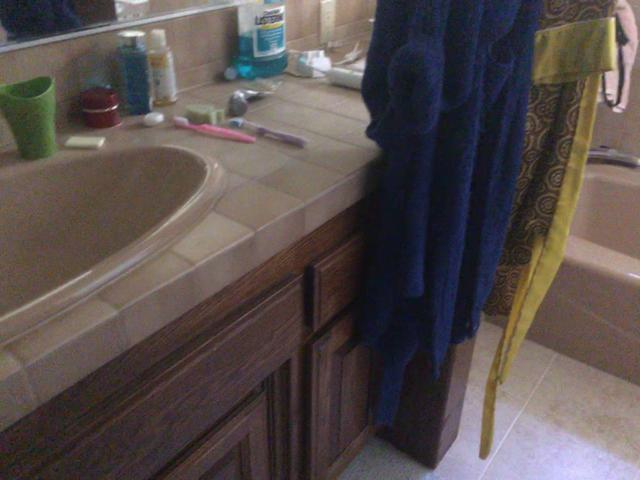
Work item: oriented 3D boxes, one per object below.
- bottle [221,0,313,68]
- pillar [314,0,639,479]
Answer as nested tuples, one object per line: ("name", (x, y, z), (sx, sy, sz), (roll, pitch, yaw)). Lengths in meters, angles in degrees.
("bottle", (-0.120, -0.530, 1.320), (0.110, 0.220, 0.180), (20, 37, 33))
("pillar", (0.260, 0.030, 1.070), (0.350, 1.250, 0.370), (20, 37, 33))
